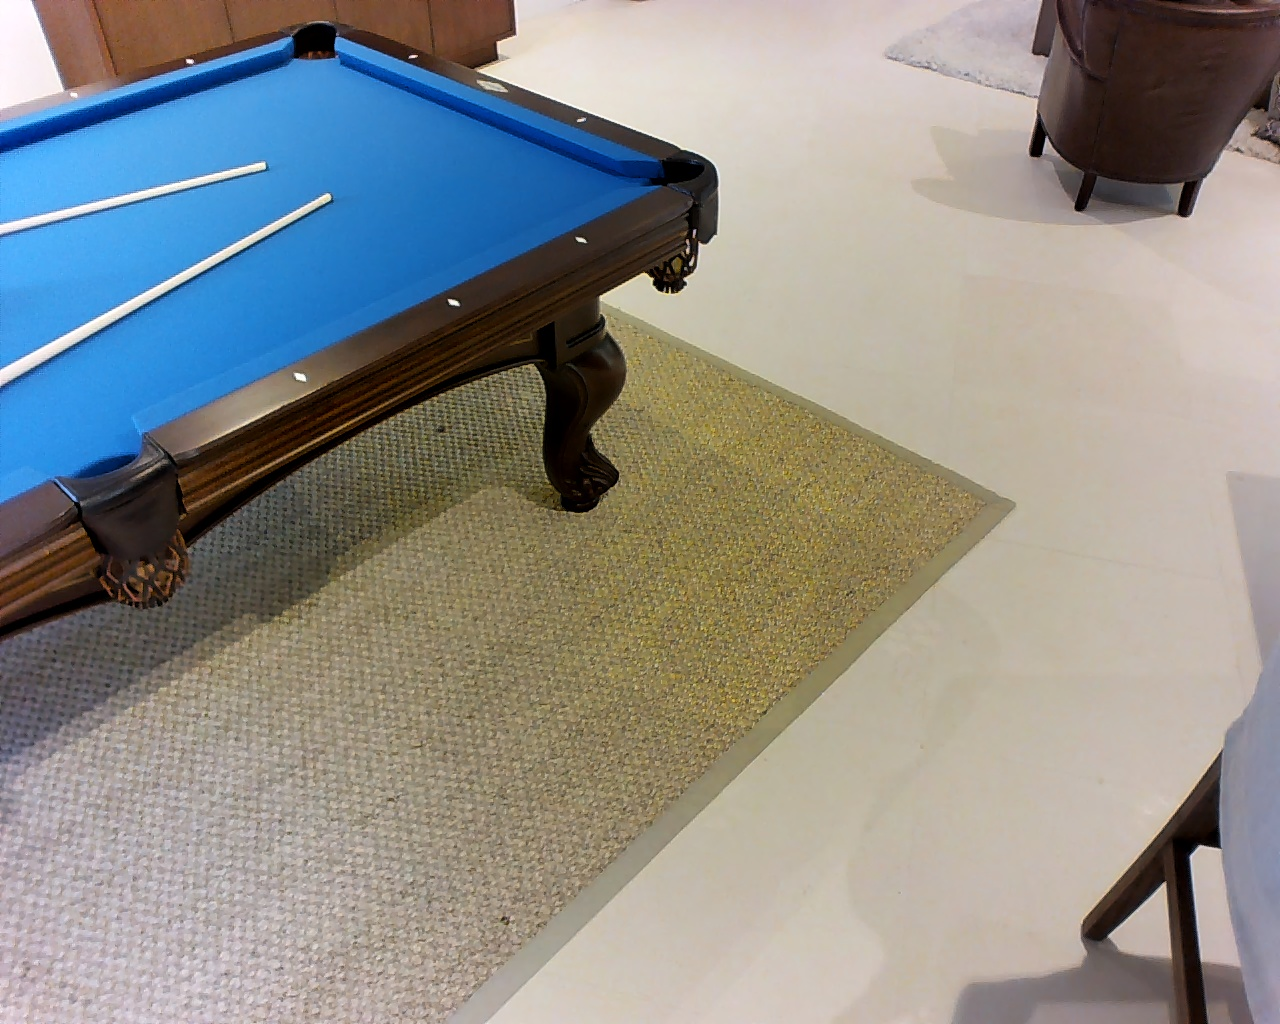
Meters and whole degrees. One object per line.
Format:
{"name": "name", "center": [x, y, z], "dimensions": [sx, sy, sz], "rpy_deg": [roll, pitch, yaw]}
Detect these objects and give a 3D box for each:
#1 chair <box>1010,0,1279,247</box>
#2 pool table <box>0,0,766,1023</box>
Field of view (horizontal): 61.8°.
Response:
{"name": "chair", "center": [1.700, -1.450, 3.430], "dimensions": [0.690, 0.890, 0.760], "rpy_deg": [3, 42, 4]}
{"name": "pool table", "center": [-1.130, -0.060, 1.940], "dimensions": [1.380, 0.830, 2.540], "rpy_deg": [32, 51, 31]}
